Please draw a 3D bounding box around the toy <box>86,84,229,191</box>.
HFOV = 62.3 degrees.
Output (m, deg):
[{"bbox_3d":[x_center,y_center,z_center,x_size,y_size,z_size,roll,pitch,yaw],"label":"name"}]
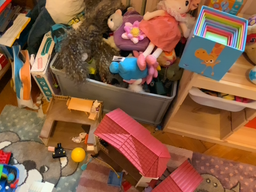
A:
[{"bbox_3d":[0.090,0.270,0.930,0.320,0.360,0.430,-34,67,-23],"label":"toy"}]
